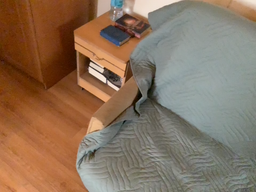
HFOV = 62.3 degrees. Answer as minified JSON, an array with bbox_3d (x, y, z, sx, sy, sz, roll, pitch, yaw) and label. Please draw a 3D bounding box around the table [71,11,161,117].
[{"bbox_3d":[-0.100,-0.240,1.600,0.410,0.510,0.460,32,52,14],"label":"table"}]
